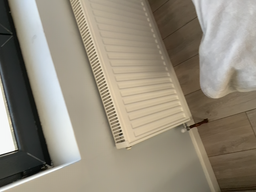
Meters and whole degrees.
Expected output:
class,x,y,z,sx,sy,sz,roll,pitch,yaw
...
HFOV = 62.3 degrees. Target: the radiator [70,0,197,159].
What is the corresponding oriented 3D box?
class,x,y,z,sx,sy,sz,roll,pitch,yaw
radiator,-0.020,-0.410,1.080,0.060,0.580,1.280,-24,81,42
